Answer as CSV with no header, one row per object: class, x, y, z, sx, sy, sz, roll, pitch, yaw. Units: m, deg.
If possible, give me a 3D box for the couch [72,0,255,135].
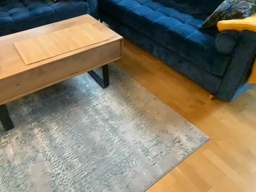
couch,0.400,-0.940,2.210,1.080,0.920,2.430,-26,49,-25
